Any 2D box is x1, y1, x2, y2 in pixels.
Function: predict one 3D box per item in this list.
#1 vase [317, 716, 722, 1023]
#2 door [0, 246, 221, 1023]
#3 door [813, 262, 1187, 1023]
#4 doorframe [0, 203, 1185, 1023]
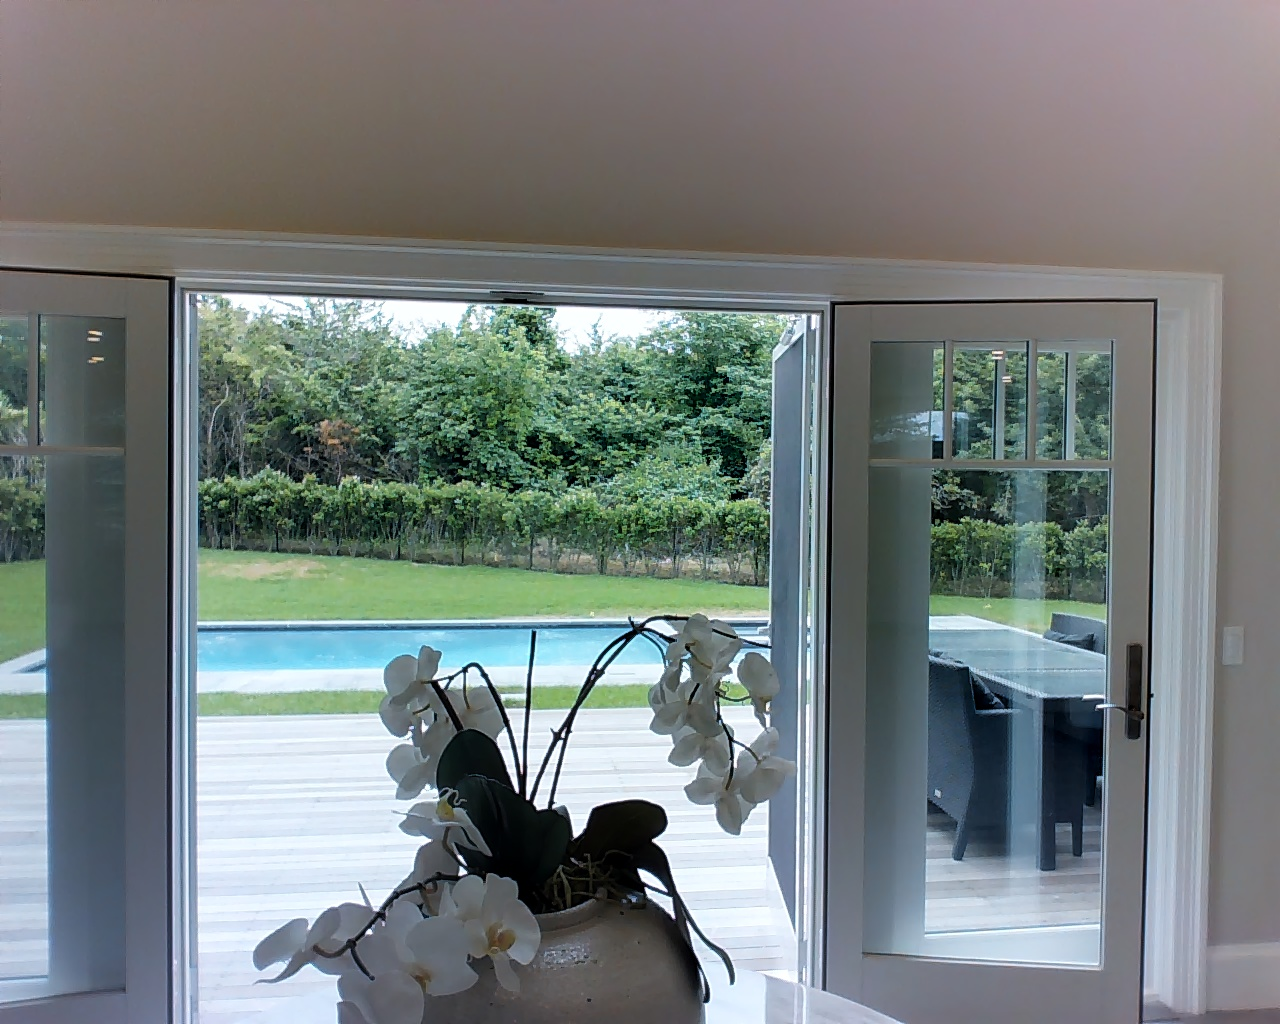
[{"bbox_3d":[-0.100,0.510,1.170,0.370,0.490,0.380,1,1,4],"label":"vase"},{"bbox_3d":[-1.670,0.430,2.720,1.030,2.080,0.570,0,1,-8],"label":"door"},{"bbox_3d":[0.940,0.420,2.880,0.910,2.120,0.080,1,1,12],"label":"door"},{"bbox_3d":[-0.310,0.400,3.050,3.769,2.330,0.310,0,1,-8],"label":"doorframe"}]
